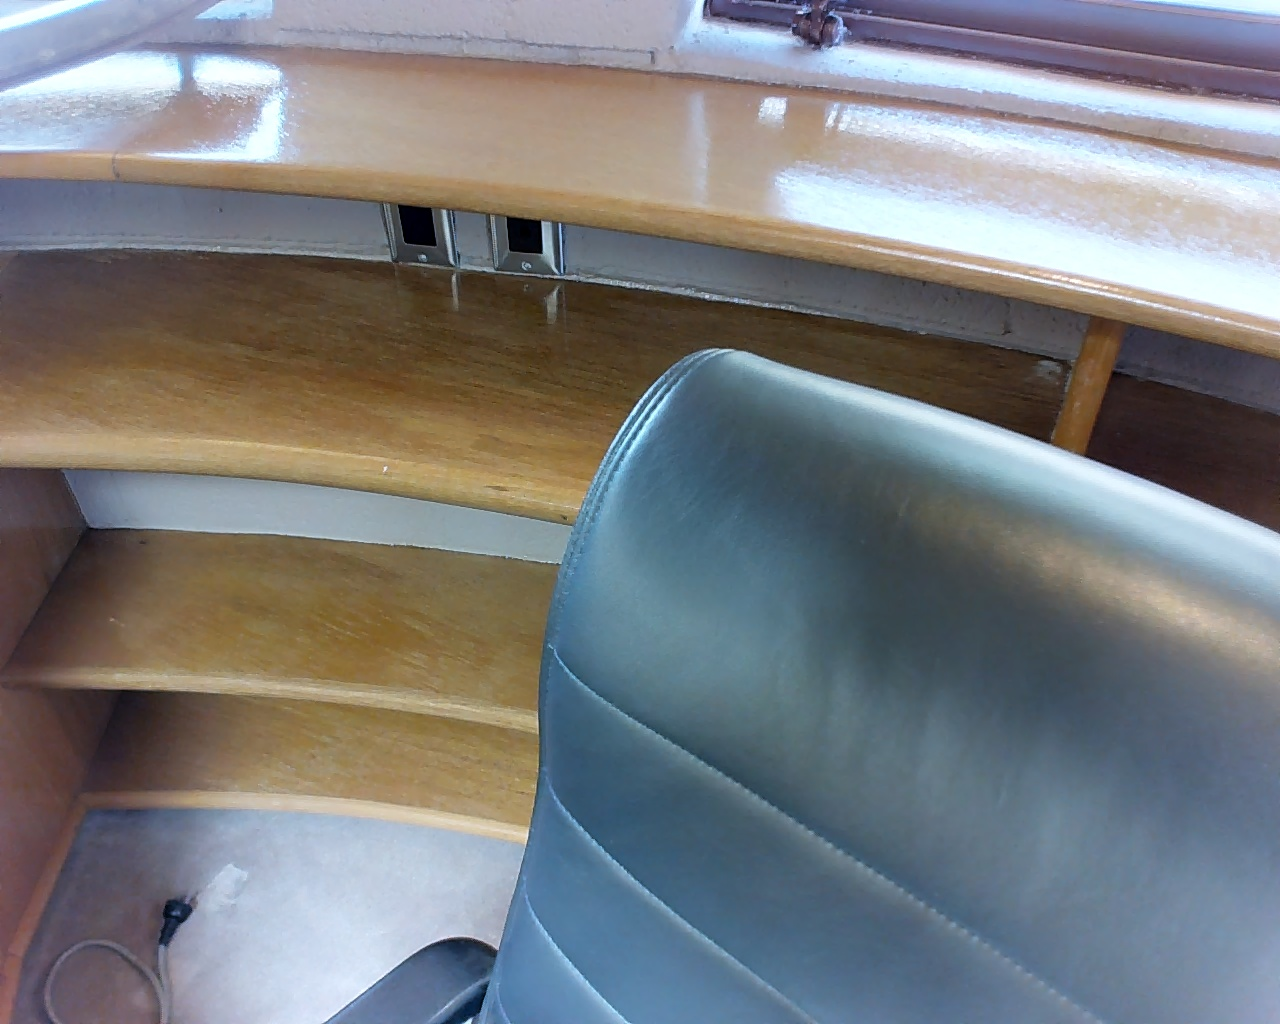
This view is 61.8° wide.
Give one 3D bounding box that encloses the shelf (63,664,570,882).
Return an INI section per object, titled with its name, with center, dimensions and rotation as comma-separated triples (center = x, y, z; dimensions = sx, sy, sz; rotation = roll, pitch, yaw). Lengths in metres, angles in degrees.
[shelf]
center = -0.400, 0.330, 1.380
dimensions = 0.590, 0.110, 0.180
rotation = 5, 42, 6
